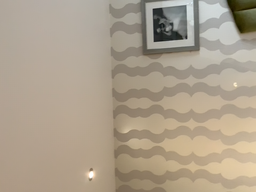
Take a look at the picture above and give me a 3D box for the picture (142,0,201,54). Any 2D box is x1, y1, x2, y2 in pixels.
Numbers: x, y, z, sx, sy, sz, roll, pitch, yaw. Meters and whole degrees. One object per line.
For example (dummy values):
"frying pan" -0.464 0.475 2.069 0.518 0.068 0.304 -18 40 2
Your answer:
"picture" 0.360 -0.610 1.790 0.040 0.480 0.480 -32 -58 -76
